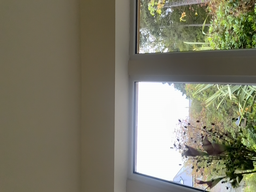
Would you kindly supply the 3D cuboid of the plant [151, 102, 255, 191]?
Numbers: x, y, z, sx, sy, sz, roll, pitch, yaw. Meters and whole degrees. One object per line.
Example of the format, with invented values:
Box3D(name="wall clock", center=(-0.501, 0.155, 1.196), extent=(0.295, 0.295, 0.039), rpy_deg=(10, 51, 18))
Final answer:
Box3D(name="plant", center=(0.660, 0.340, 1.320), extent=(0.610, 0.830, 0.520), rpy_deg=(0, -86, -62))
